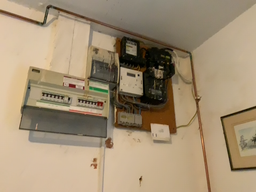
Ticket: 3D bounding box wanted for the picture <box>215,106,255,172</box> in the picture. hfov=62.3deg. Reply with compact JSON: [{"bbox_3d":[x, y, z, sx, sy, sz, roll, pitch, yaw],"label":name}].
[{"bbox_3d":[0.660,0.230,1.140,0.030,0.320,0.380,11,-25,-26],"label":"picture"}]
